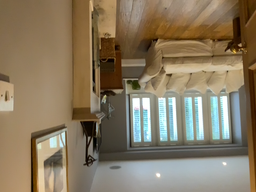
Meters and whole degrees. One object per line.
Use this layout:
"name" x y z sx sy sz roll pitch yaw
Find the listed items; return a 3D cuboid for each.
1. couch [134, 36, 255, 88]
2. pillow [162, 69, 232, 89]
"couch" 1.400 -0.630 4.210 2.430 0.780 1.010 -2 177 -4
"pillow" 1.400 -0.350 4.340 1.350 0.360 0.240 -1 -176 -3
